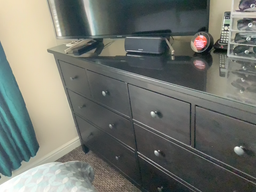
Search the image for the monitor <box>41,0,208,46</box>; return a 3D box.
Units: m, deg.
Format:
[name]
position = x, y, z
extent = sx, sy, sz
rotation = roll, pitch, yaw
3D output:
[monitor]
position = -0.090, -0.570, 1.130
extent = 0.980, 0.610, 0.040
rotation = 6, 32, 24
